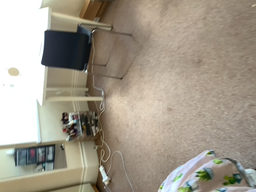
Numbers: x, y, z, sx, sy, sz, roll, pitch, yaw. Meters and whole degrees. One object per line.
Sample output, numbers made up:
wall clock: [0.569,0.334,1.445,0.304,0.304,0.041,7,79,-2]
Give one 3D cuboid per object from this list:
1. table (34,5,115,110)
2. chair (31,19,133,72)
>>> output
table: [-0.710,-0.460,2.640,0.730,0.680,1.070,27,111,53]
chair: [-0.470,-0.500,2.130,0.530,0.830,0.350,29,113,53]
